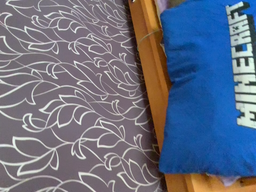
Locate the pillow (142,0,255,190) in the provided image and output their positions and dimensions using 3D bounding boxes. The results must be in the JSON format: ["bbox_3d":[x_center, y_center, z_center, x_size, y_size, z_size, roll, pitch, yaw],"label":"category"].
[{"bbox_3d":[0.390,-0.110,0.820,0.640,0.310,0.830,-22,63,50],"label":"pillow"}]
